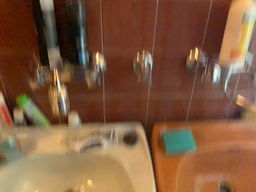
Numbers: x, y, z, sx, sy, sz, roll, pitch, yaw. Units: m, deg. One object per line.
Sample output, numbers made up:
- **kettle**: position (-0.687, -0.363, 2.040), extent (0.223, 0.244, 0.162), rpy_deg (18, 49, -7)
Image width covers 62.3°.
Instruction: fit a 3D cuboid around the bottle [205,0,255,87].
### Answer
- **bottle**: position (0.330, -0.150, 0.590), extent (0.150, 0.230, 0.100), rpy_deg (1, 31, -3)
